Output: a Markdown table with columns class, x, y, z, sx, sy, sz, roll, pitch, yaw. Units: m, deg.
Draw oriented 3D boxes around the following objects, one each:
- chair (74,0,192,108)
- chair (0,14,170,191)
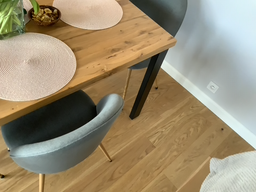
| class | x | y | z | sx | sy | sz | roll | pitch | yaw |
| --- | --- | --- | --- | --- | --- | --- | --- | --- | --- |
| chair | -0.030 | -0.450 | 1.620 | 0.550 | 0.870 | 0.510 | -30 | 65 | -31 |
| chair | -0.300 | 0.180 | 1.070 | 0.510 | 0.870 | 0.550 | -28 | 64 | -30 |
